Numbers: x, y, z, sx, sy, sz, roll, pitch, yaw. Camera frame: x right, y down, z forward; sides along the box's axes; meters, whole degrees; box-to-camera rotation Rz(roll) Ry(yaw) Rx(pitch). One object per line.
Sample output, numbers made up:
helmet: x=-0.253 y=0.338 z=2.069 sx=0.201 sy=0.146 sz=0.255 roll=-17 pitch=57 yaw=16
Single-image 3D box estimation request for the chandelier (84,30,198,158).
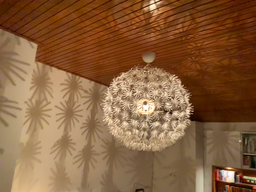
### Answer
chandelier: x=0.210 y=0.070 z=2.280 sx=0.820 sy=1.050 sz=0.910 roll=-4 pitch=166 yaw=34
